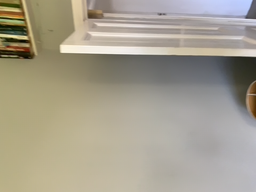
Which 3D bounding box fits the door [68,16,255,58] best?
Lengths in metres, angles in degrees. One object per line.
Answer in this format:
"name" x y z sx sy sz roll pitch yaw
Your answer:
"door" 0.630 -0.400 1.400 0.780 1.860 0.110 -99 11 -66
